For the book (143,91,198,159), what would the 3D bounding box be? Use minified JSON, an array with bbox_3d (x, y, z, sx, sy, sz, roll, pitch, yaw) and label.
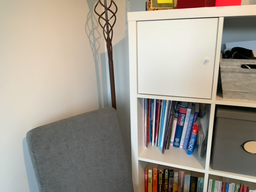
[{"bbox_3d":[0.250,0.150,1.240,0.260,0.280,0.250,6,19,20],"label":"book"}]
